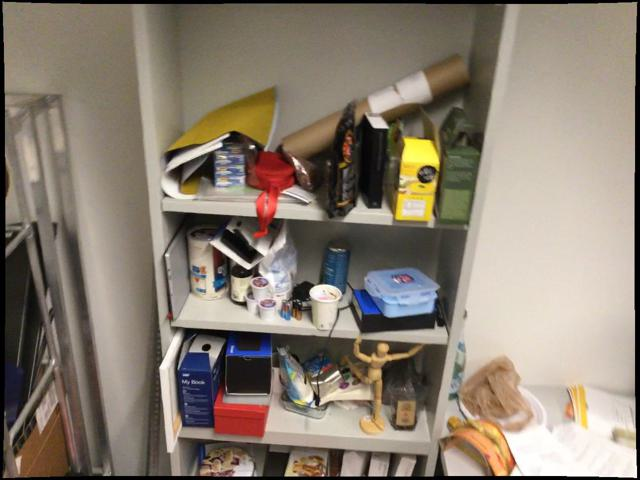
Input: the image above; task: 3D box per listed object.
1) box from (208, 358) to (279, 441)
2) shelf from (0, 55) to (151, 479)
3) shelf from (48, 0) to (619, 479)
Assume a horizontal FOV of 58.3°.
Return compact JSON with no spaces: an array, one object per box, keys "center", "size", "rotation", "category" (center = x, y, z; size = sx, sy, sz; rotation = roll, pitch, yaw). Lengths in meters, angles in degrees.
[{"center":[-0.210,0.440,1.600],"size":[0.170,0.120,0.180],"rotation":[5,27,-1],"category":"box"},{"center":[-0.879,0.400,1.510],"size":[0.609,1.611,0.660],"rotation":[5,27,-1],"category":"shelf"},{"center":[-0.040,0.160,1.510],"size":[0.969,1.992,0.430],"rotation":[5,27,-1],"category":"shelf"}]
